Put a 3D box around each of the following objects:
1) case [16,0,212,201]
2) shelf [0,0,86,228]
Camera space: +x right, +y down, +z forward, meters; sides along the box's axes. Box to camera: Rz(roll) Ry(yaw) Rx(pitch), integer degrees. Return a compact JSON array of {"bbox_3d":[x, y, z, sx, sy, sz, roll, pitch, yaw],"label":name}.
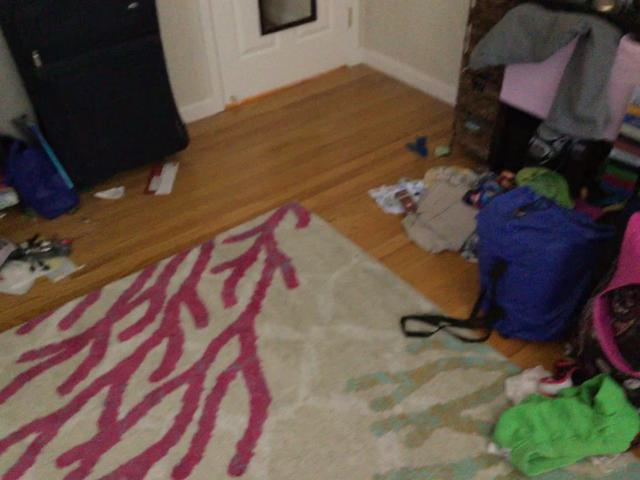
[{"bbox_3d":[-0.790,-0.660,2.280,0.530,0.810,0.370,-23,43,-30],"label":"case"},{"bbox_3d":[-1.310,-0.550,1.920,0.700,1.040,0.410,-23,43,-30],"label":"shelf"}]
